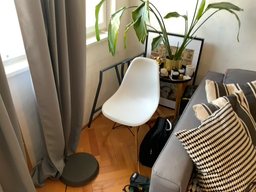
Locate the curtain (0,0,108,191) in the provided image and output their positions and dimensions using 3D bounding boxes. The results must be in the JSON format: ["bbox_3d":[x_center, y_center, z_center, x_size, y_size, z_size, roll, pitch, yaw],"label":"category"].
[{"bbox_3d":[-0.460,-0.490,1.440,0.350,2.640,0.650,17,33,22],"label":"curtain"}]

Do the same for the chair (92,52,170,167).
[{"bbox_3d":[0.030,0.100,2.020,0.460,0.830,0.580,17,32,22],"label":"chair"}]
